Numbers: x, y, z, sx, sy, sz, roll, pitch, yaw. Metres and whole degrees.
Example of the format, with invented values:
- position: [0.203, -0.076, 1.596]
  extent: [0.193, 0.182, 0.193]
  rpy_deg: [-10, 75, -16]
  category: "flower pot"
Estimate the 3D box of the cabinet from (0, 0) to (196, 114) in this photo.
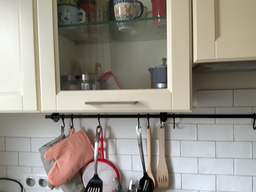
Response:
- position: [-0.350, -0.420, 0.860]
  extent: [1.150, 0.940, 0.360]
  rpy_deg: [-1, 3, 9]
  category: "cabinet"
